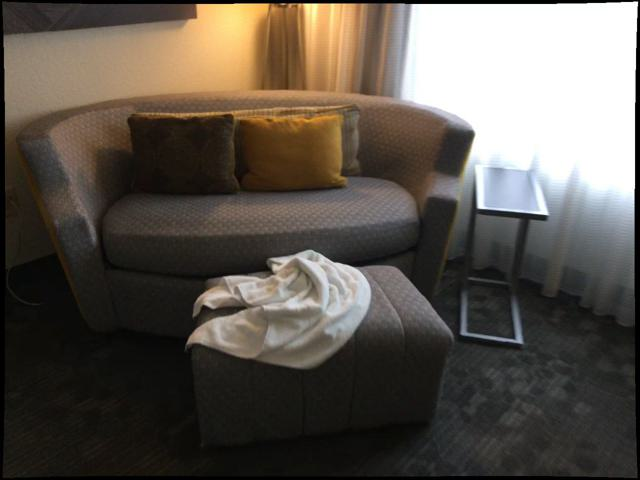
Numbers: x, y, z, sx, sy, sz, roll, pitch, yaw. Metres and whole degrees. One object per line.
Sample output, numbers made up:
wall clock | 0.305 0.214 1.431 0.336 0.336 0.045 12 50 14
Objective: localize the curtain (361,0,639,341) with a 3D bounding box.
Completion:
curtain | 0.979 -0.771 2.410 1.699 2.132 0.250 24 36 35

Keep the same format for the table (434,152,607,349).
table | 0.809 0.020 2.520 0.490 0.590 0.640 3 29 3

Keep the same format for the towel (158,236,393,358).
towel | -0.130 0.170 1.890 0.669 0.160 0.460 1 29 -1
